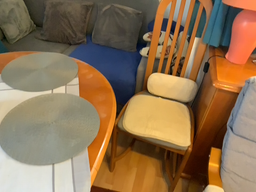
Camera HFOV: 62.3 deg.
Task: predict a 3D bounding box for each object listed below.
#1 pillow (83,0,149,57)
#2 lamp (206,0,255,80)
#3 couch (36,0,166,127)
[{"bbox_3d":[-0.090,-0.650,1.950,0.490,0.420,0.270,14,64,9],"label":"pillow"},{"bbox_3d":[0.590,-0.370,0.960,0.300,0.520,0.250,14,40,9],"label":"lamp"},{"bbox_3d":[-0.140,-0.470,1.890,0.750,0.980,0.920,12,40,7],"label":"couch"}]
